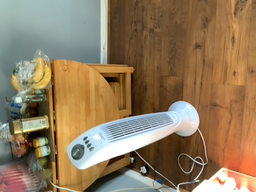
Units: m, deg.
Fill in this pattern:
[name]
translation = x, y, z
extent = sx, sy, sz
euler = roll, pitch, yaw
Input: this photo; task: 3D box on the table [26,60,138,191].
[table]
translation = -0.300, 0.210, 1.600
extent = 0.360, 0.720, 0.910
euler = 6, 98, 43
